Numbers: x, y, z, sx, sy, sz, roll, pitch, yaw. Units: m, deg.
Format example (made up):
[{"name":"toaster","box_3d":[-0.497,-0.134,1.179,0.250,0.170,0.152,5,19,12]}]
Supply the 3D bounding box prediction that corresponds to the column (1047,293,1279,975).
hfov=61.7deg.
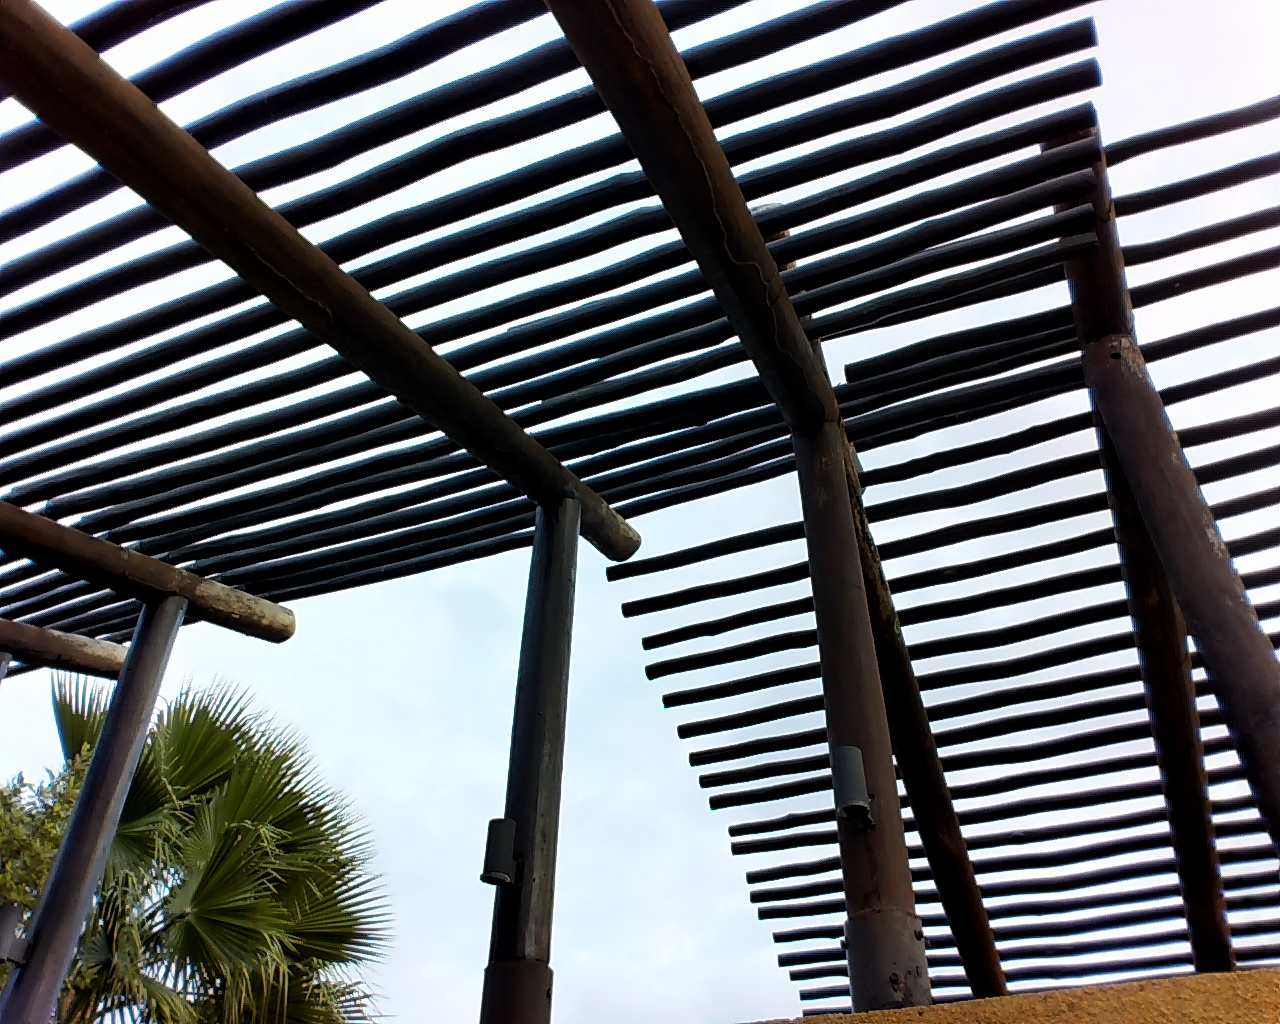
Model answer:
[{"name":"column","box_3d":[1.769,0.180,3.330,0.430,2.320,0.210,-14,-44,17]}]

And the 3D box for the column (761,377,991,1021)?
[{"name":"column","box_3d":[0.720,0.460,3.600,0.420,2.220,0.320,-15,-44,18]}]

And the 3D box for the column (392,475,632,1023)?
[{"name":"column","box_3d":[-0.380,0.790,3.840,0.560,2.030,0.360,-14,-44,17]}]
